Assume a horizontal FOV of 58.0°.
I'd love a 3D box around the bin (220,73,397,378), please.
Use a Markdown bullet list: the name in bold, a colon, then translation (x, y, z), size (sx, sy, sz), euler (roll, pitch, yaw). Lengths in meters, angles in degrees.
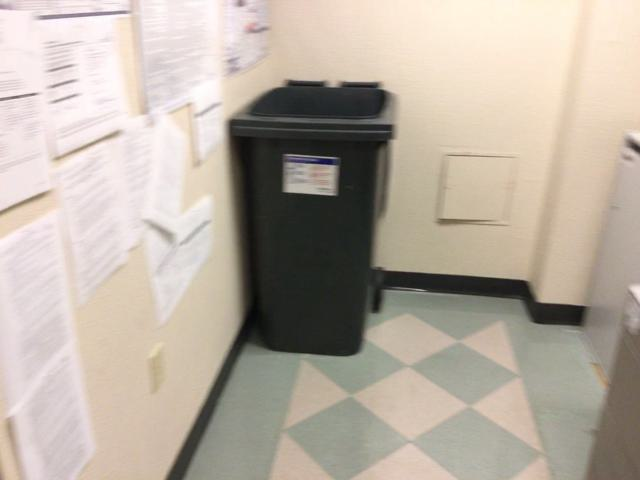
- **bin**: translation (-0.010, -0.100, 2.380), size (0.560, 1.030, 0.710), euler (4, 23, 7)
